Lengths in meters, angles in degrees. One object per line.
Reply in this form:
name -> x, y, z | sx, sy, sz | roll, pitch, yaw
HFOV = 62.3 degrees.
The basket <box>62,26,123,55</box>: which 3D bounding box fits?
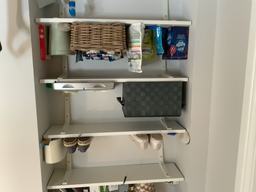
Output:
basket -> -0.180, -0.290, 1.140 | 0.290, 0.130, 0.220 | -1, -170, -5
